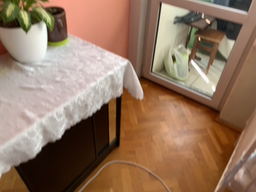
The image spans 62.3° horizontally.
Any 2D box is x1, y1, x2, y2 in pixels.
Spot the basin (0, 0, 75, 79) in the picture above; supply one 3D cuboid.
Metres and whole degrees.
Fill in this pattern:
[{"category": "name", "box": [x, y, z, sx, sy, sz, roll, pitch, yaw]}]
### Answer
[{"category": "basin", "box": [-0.470, -0.350, 0.970, 0.230, 0.370, 0.340, 27, 48, 23]}]
